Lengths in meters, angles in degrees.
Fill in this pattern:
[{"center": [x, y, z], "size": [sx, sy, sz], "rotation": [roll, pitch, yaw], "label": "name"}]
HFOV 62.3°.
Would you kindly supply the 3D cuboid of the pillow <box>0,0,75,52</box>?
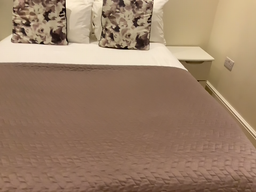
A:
[{"center": [-0.690, -0.590, 1.610], "size": [0.430, 0.390, 0.110], "rotation": [-20, 45, -2], "label": "pillow"}]
